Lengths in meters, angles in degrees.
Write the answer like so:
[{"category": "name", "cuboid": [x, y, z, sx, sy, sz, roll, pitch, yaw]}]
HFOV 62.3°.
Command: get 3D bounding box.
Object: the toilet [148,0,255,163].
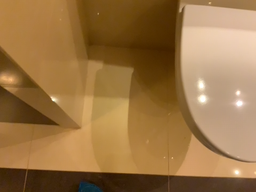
[{"category": "toilet", "cuboid": [0.310, -0.030, 0.820, 0.370, 0.470, 0.530, 5, 74, -4]}]
